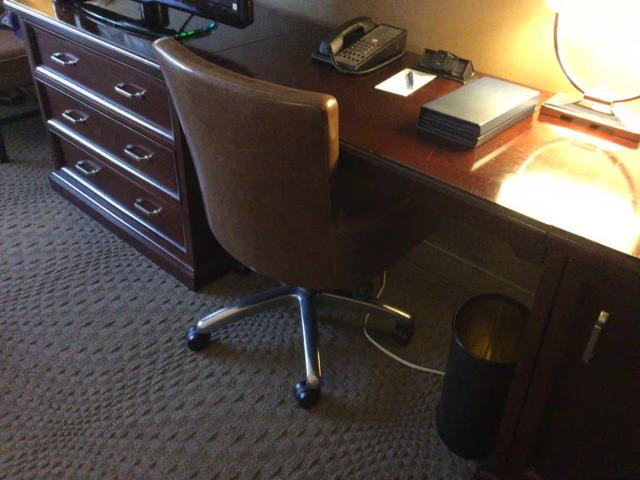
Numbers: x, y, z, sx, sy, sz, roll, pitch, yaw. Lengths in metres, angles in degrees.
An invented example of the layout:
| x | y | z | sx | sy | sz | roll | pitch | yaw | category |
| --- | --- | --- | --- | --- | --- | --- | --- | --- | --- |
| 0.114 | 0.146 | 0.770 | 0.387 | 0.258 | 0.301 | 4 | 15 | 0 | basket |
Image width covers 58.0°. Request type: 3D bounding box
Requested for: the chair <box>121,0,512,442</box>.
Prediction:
| x | y | z | sx | sy | sz | roll | pitch | yaw | category |
| --- | --- | --- | --- | --- | --- | --- | --- | --- | --- |
| -0.020 | -0.100 | 1.600 | 0.660 | 0.890 | 0.630 | 27 | 42 | 26 | chair |
